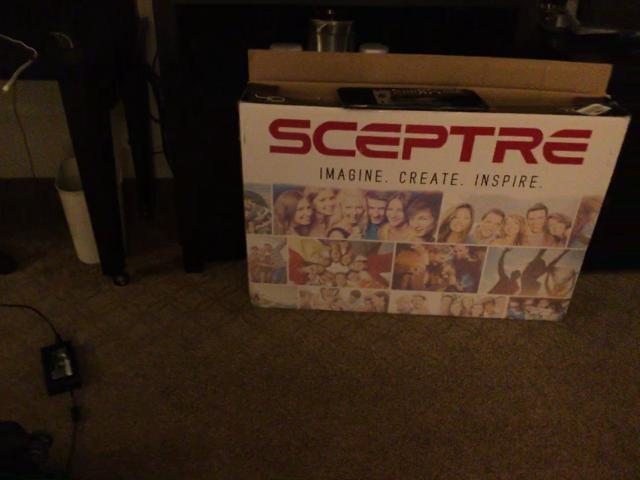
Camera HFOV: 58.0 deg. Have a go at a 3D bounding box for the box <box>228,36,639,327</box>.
[{"bbox_3d":[0.310,-0.160,1.760,1.090,0.790,0.330,1,31,-1],"label":"box"}]
